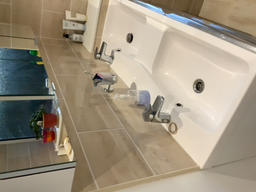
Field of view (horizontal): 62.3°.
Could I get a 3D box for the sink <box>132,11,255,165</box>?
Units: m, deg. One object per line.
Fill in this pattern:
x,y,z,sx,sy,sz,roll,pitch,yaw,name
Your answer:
0.250,-0.080,0.950,0.590,0.100,0.440,50,131,48,sink

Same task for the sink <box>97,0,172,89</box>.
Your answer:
-0.010,-0.390,1.400,0.620,0.110,0.440,50,131,48,sink
